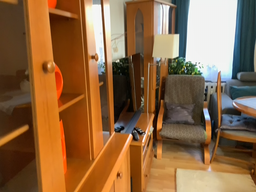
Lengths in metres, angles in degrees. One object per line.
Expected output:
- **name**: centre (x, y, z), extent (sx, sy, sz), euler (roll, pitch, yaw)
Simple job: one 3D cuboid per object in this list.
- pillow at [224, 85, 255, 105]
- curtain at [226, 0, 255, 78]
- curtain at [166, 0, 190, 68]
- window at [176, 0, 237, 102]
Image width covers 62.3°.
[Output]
- **pillow**: centre (1.720, -0.020, 3.190), extent (0.430, 0.220, 0.300), euler (3, 15, 15)
- **curtain**: centre (1.780, -1.080, 3.250), extent (0.350, 1.580, 0.130), euler (3, 15, 15)
- **curtain**: centre (0.810, -1.160, 3.460), extent (0.340, 1.400, 0.120), euler (3, 15, 15)
- **window**: centre (1.260, -0.910, 3.490), extent (0.820, 2.020, 0.160), euler (2, 15, 11)
